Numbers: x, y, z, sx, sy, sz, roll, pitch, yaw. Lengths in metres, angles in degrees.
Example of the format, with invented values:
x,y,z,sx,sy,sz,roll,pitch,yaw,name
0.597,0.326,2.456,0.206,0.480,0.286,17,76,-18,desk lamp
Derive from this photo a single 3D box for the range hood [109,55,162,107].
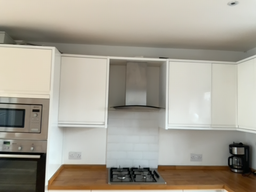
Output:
x,y,z,sx,sy,sz,roll,pitch,yaw,name
0.090,-0.170,2.570,0.600,0.580,0.230,2,-3,-2,range hood

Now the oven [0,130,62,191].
x,y,z,sx,sy,sz,roll,pitch,yaw,name
-1.090,0.700,2.260,0.590,0.590,0.610,2,-3,-5,oven
